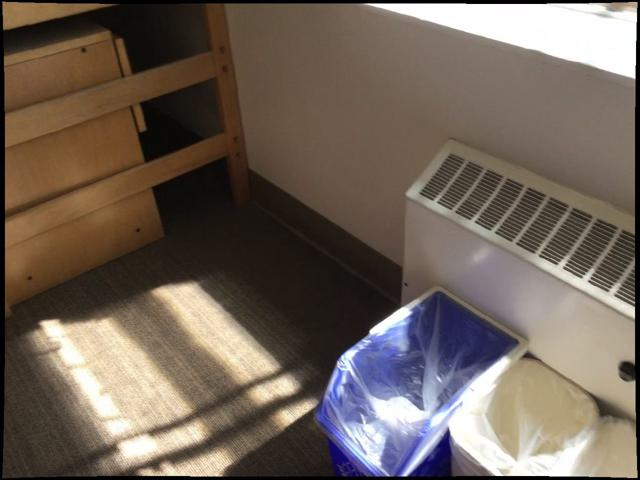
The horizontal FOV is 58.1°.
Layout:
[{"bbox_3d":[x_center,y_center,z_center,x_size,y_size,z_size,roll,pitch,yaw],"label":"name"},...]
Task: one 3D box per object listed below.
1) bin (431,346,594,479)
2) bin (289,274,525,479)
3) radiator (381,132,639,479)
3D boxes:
[{"bbox_3d":[0.399,0.461,1.240,0.280,0.331,0.170,-31,46,-30],"label":"bin"},{"bbox_3d":[0.199,0.381,1.350,0.420,0.351,0.300,-31,46,-29],"label":"bin"},{"bbox_3d":[0.608,0.251,1.160,0.190,0.541,1.159,-31,46,-29],"label":"radiator"}]
